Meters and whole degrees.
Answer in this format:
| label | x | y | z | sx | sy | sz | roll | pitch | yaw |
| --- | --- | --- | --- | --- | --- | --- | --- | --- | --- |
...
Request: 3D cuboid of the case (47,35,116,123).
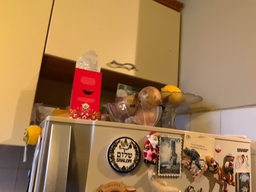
| label | x | y | z | sx | sy | sz | roll | pitch | yaw |
| --- | --- | --- | --- | --- | --- | --- | --- | --- | --- |
| case | -0.160 | -0.040 | 0.720 | 0.160 | 0.240 | 0.170 | 11 | -13 | -26 |
